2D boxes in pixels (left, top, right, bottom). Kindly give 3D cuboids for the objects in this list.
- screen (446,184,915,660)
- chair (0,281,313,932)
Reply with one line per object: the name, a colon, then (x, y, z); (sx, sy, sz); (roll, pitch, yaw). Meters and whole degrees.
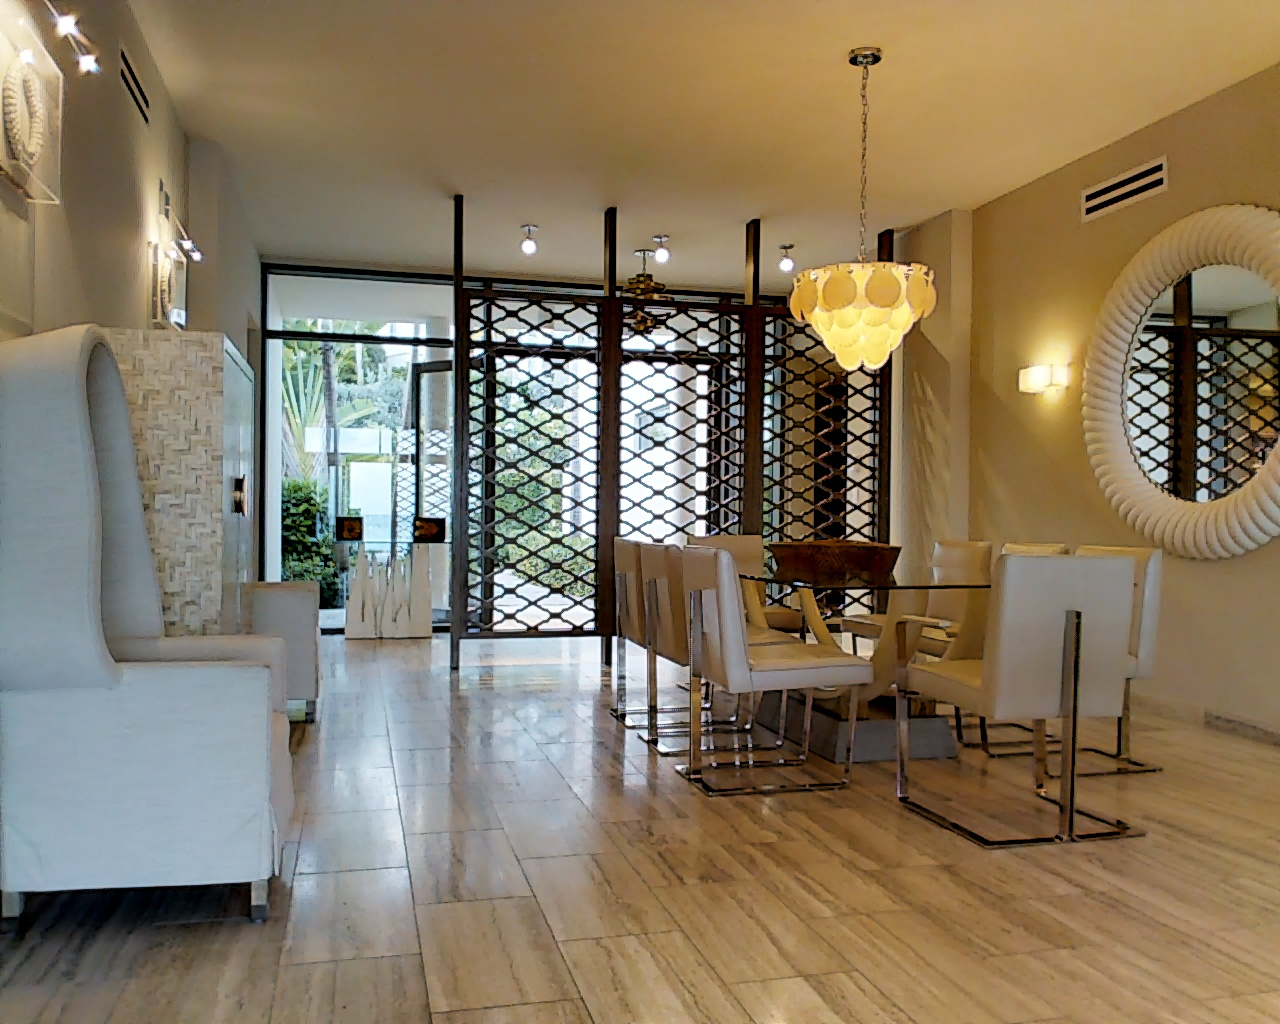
screen: (0.350, -0.560, 7.370); (3.280, 3.040, 0.150); (1, 0, -15)
chair: (-1.280, 0.210, 2.850); (0.750, 1.440, 0.840); (1, 0, -15)
